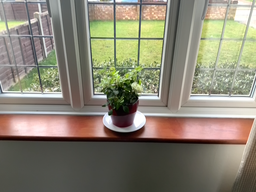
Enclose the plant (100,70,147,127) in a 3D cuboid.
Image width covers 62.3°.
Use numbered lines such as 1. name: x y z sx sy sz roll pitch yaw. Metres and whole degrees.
1. plant: -0.020 0.010 0.980 0.190 0.210 0.160 1 27 0
